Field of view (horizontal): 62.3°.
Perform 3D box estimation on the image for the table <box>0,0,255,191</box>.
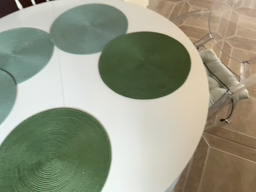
[{"bbox_3d":[-0.270,0.090,1.180,1.140,0.770,1.160,-19,56,-10],"label":"table"}]
